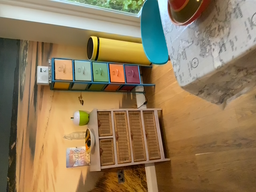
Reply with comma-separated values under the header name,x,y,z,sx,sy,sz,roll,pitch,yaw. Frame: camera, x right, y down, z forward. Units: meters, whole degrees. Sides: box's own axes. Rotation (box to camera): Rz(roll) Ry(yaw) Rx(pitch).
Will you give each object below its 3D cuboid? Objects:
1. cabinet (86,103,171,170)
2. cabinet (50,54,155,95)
name,x,y,z,sx,sy,sz,roll,pitch,yaw
cabinet,-0.020,0.470,2.510,0.420,0.840,0.660,139,128,-58
cabinet,-0.310,-0.240,2.700,0.360,1.260,0.300,139,128,-58
